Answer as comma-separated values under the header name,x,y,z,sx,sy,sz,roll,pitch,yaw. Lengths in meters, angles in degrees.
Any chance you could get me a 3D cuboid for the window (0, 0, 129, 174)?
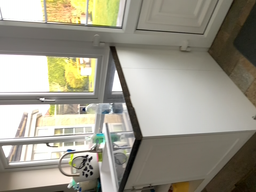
name,x,y,z,sx,sy,sz,roll,pitch,yaw
window,-0.710,-0.070,1.880,0.150,1.140,2.550,-106,22,-45
